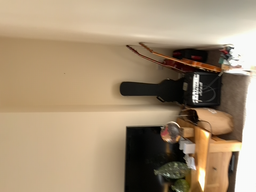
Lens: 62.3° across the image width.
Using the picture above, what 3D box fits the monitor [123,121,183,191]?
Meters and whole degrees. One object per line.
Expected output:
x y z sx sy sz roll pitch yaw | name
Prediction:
0.270 0.770 2.330 0.040 0.600 0.960 -161 76 -74 | monitor

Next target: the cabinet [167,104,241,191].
0.790 0.810 2.380 0.610 0.420 1.360 -158 69 -73 | cabinet
